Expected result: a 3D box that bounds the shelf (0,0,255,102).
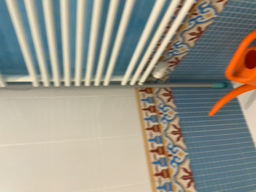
[{"bbox_3d":[-0.360,-0.190,0.680,0.670,1.310,0.150,119,146,-60],"label":"shelf"}]
